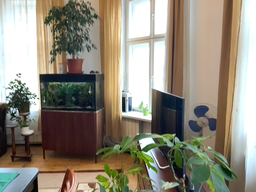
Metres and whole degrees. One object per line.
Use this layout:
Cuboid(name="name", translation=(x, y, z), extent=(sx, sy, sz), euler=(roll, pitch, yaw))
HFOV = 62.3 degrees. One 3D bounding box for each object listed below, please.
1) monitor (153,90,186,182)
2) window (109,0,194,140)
Cuboid(name="monitor", translation=(0.330, 0.260, 1.900), extent=(0.050, 0.550, 0.950), euler=(0, 7, -3))
Cuboid(name="window", translation=(0.370, -0.730, 3.700), extent=(1.320, 2.680, 0.580), euler=(5, 9, 36))
